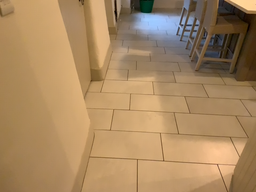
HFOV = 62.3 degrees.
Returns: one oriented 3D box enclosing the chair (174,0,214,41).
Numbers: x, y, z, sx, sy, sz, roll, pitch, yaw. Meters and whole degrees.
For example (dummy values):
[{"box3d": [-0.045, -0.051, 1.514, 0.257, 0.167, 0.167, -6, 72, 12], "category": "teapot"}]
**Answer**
[{"box3d": [1.130, -1.510, 3.640, 0.490, 0.970, 0.450, 3, 35, 2], "category": "chair"}]
